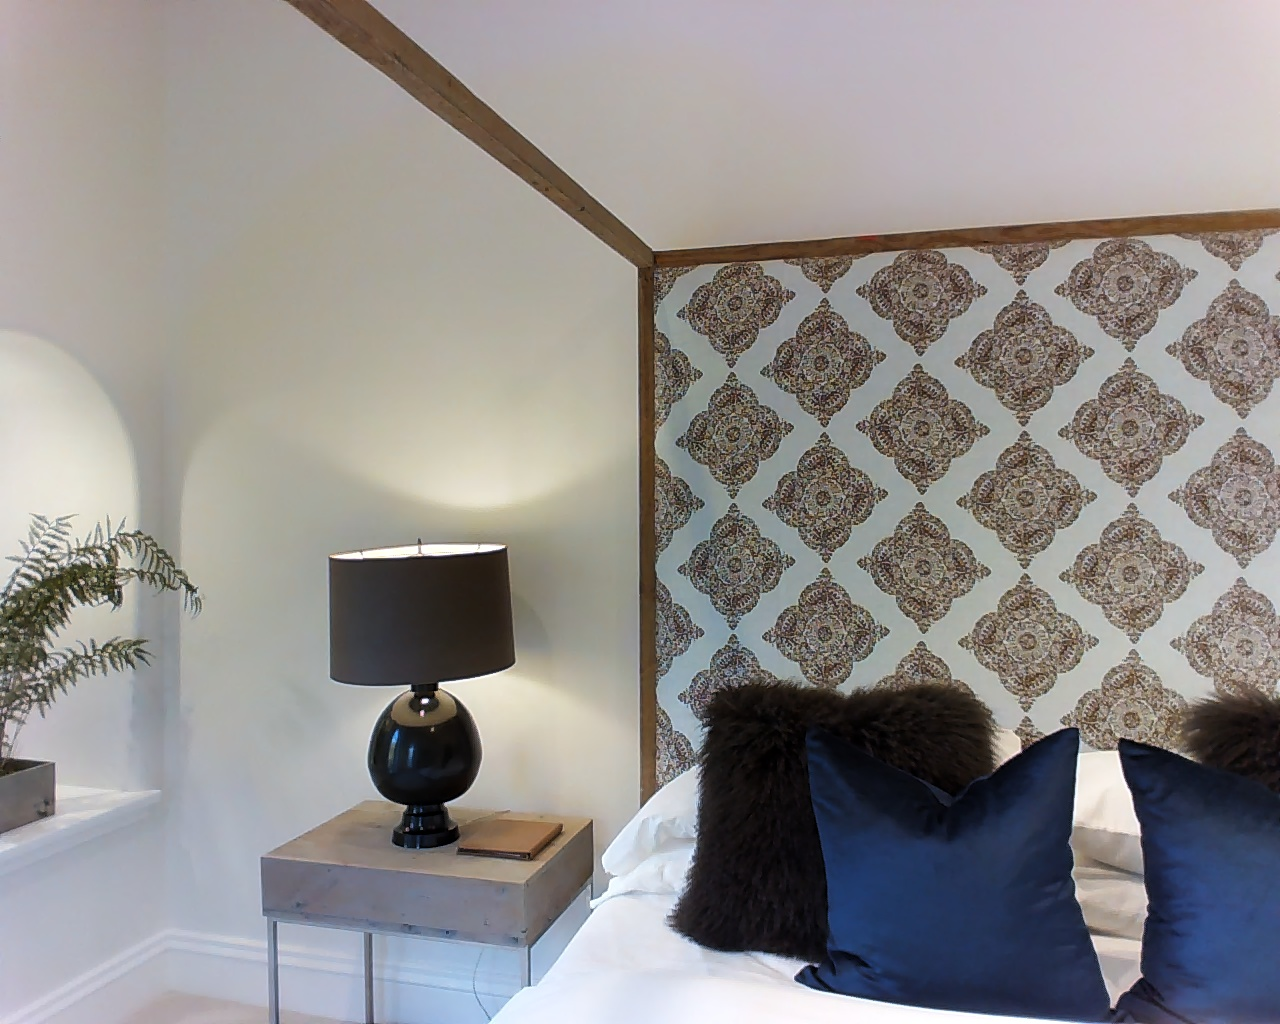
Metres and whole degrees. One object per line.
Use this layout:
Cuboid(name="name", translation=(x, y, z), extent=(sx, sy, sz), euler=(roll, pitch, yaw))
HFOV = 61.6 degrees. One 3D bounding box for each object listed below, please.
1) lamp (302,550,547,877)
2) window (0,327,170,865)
Cuboid(name="lamp", translation=(-0.550, 0.490, 2.820), extent=(0.470, 0.760, 0.440), euler=(-1, -1, 16))
Cuboid(name="window", translation=(-1.799, 0.220, 3.020), extent=(0.340, 1.410, 0.930), euler=(-1, -1, 16))
